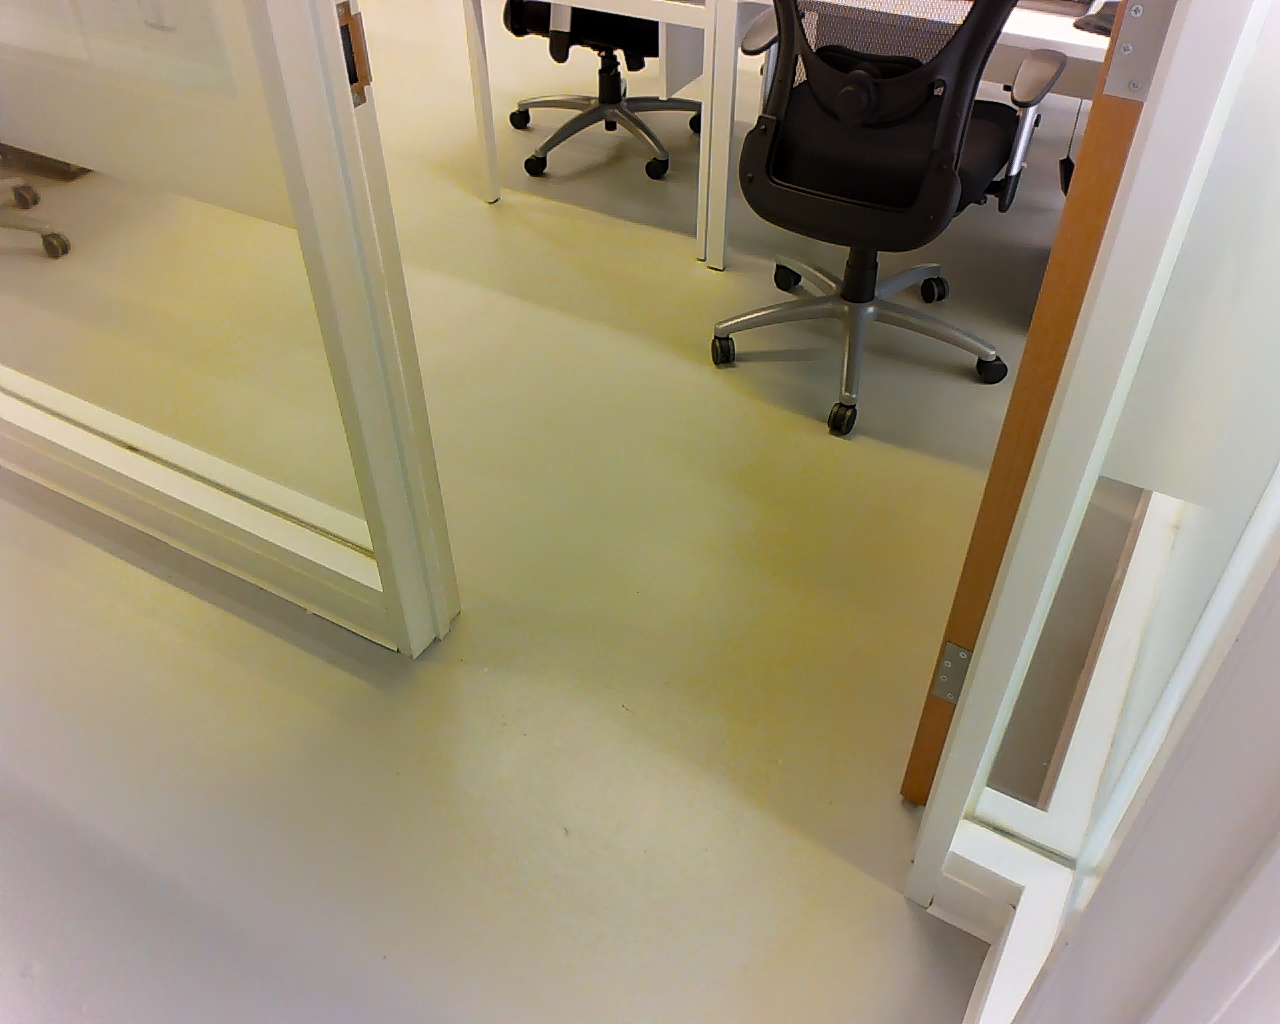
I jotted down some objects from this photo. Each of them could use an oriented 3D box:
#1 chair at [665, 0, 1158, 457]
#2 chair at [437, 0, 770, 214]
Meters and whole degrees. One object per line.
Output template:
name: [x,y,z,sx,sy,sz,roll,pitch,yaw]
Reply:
chair: [0.590,-0.880,2.360,0.790,1.090,0.770,21,47,23]
chair: [-0.090,-1.620,3.250,0.730,1.030,0.770,20,47,22]
